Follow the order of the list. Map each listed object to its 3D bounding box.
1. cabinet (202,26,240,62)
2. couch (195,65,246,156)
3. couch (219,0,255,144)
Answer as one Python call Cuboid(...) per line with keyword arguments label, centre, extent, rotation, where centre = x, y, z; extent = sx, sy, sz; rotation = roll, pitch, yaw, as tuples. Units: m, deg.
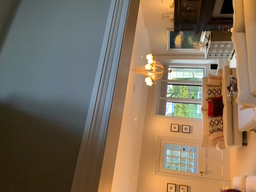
Cuboid(label="cabinet", centre=(2.850, -1.590, 6.620), extent=(1.110, 0.840, 0.550), rotation=(63, -147, -67))
Cuboid(label="couch", centre=(2.430, 0.390, 5.730), extent=(1.050, 0.980, 2.180), rotation=(63, -147, -67))
Cuboid(label="couch", centre=(1.940, -0.540, 3.030), extent=(1.070, 0.960, 2.310), rotation=(61, -145, -68))
